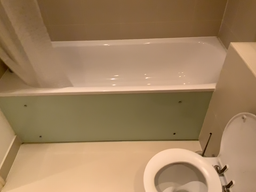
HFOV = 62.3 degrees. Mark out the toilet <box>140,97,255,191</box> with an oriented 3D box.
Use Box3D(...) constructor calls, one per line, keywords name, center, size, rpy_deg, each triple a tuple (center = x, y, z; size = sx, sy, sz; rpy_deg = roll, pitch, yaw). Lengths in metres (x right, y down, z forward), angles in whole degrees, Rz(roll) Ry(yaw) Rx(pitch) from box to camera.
Box3D(name="toilet", center=(0.330, 0.430, 1.090), size=(0.490, 0.770, 0.380), rpy_deg=(-3, 42, -1))
